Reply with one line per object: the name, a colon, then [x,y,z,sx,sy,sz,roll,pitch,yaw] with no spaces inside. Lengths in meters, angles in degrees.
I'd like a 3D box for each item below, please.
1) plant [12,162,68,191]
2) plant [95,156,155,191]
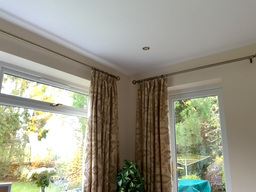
plant: [-0.900,0.870,2.190,0.290,0.330,0.430,-11,-19,42]
plant: [-0.040,1.310,2.480,0.490,1.140,0.520,14,-19,-42]
